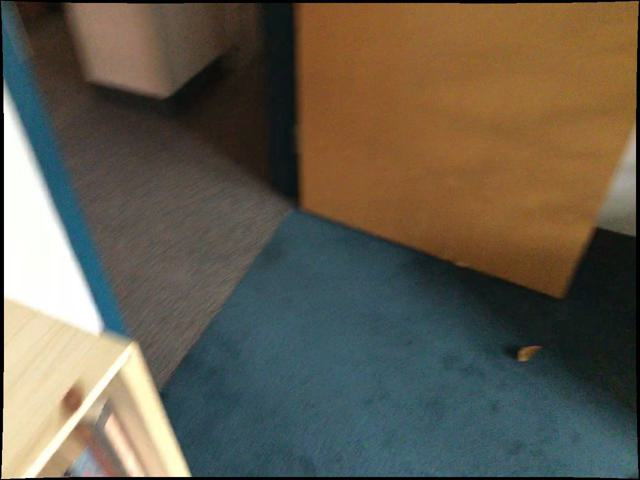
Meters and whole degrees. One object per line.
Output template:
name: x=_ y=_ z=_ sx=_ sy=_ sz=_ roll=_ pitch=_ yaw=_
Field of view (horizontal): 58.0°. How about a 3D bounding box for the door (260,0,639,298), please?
door: x=0.319 y=-0.461 z=1.450 sx=0.958 sy=1.262 sz=0.160 roll=17 pitch=47 yaw=17
